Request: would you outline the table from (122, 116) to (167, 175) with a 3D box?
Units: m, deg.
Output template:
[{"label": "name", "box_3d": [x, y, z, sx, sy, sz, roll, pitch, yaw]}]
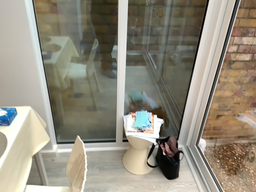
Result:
[{"label": "table", "box_3d": [0.120, 0.430, 1.870, 0.320, 0.390, 0.310, -1, 32, -6]}]

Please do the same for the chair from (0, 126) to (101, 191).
[{"label": "chair", "box_3d": [-0.430, 0.640, 1.160, 0.530, 0.770, 0.540, 0, 32, -5]}]
